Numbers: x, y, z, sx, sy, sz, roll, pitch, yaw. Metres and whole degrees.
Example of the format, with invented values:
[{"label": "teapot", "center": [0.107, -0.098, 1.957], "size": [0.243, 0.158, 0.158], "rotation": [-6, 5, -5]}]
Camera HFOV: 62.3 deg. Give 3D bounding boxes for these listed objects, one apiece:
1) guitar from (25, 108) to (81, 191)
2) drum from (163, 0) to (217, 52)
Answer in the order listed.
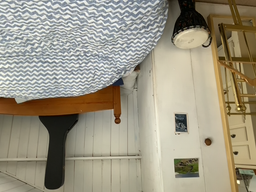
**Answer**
[{"label": "guitar", "center": [-0.670, 0.490, 1.980], "size": [0.400, 0.700, 0.290], "rotation": [0, 165, -7]}, {"label": "drum", "center": [0.440, -0.620, 1.590], "size": [0.250, 0.490, 0.280], "rotation": [0, 165, -8]}]
